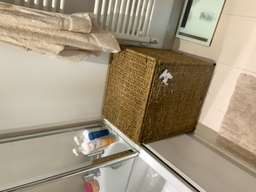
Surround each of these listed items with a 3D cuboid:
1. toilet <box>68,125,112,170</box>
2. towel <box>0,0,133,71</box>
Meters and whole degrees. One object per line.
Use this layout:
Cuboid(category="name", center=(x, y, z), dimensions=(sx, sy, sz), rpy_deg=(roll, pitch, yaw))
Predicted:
Cuboid(category="toilet", center=(-0.260, 0.340, 1.440), dimensions=(0.120, 0.240, 0.220), rpy_deg=(31, 116, 45))
Cuboid(category="towel", center=(-0.390, -0.280, 0.930), dimensions=(0.150, 0.900, 0.290), rpy_deg=(30, 116, 45))
